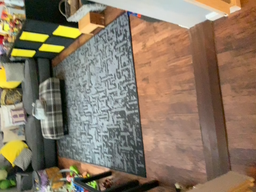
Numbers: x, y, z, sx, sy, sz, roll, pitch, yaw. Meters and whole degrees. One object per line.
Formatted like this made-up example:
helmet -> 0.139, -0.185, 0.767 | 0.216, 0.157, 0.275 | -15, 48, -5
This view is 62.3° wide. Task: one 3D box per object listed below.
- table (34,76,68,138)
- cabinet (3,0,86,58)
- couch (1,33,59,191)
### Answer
table -> -1.330, 0.200, 3.620 | 0.610, 0.310, 0.960 | -12, 82, 52
cabinet -> -1.330, -1.000, 3.190 | 1.450, 0.760, 0.450 | -10, 84, 52
couch -> -2.010, 0.320, 4.230 | 1.210, 0.660, 2.720 | -9, 84, 52
